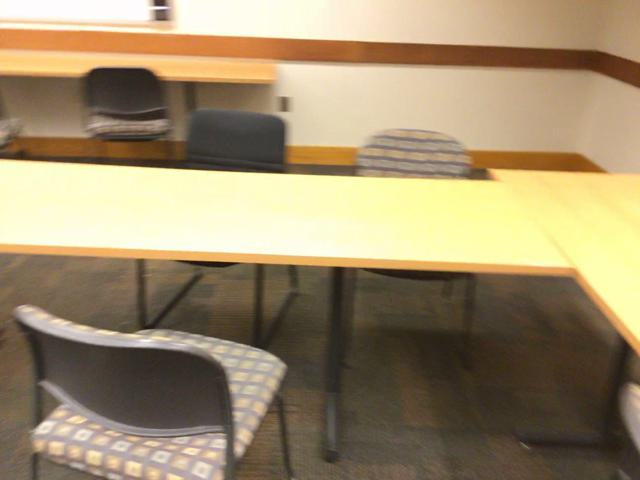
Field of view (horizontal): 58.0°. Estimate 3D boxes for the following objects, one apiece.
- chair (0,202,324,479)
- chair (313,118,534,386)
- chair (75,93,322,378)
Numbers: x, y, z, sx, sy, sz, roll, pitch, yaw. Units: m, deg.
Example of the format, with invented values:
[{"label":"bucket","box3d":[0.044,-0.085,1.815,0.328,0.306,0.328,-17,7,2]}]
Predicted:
[{"label":"chair","box3d":[-0.360,0.380,1.330,0.570,0.710,0.580,10,23,8]},{"label":"chair","box3d":[0.310,0.020,2.170,0.570,0.780,0.630,4,23,-5]},{"label":"chair","box3d":[-0.400,-0.070,2.150,0.620,0.770,0.700,9,23,8]}]
